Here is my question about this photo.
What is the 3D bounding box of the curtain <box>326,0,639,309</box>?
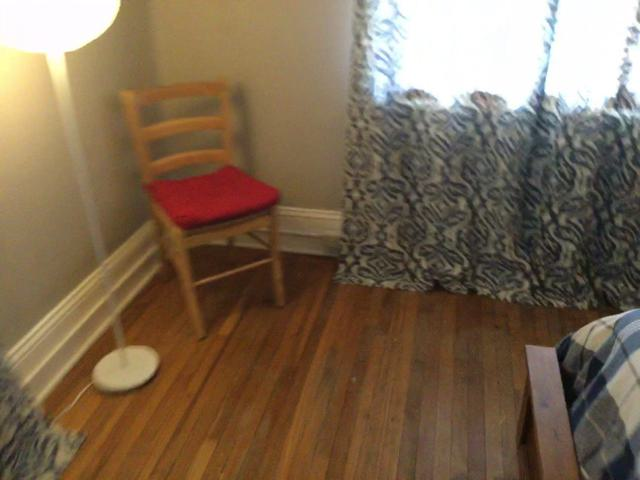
[{"bbox_3d":[0.800,-0.720,2.070,1.540,2.050,0.220,5,28,12],"label":"curtain"}]

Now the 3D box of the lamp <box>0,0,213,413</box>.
[{"bbox_3d":[-0.700,-0.180,1.840,0.400,1.430,0.470,5,28,12],"label":"lamp"}]

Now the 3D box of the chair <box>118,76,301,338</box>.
[{"bbox_3d":[-0.450,-0.170,2.400,0.460,0.840,0.620,-17,31,-27],"label":"chair"}]
